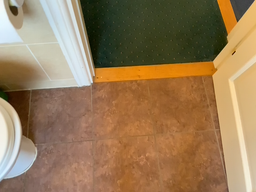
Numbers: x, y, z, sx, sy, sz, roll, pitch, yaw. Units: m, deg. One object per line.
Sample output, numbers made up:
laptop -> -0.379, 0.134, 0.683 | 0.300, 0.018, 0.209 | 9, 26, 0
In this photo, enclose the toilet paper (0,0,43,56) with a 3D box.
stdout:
toilet paper -> -0.340, -0.210, 0.540 | 0.160, 0.230, 0.110 | -3, 70, -4
